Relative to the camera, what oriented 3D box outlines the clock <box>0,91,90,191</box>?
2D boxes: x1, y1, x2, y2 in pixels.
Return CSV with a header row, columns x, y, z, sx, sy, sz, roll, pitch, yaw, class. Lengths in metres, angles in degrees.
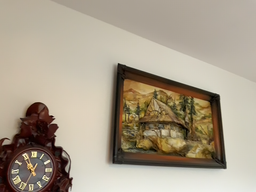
x,y,z,sx,sy,sz,roll,pitch,yaw,class
-0.390,0.300,0.870,0.410,0.580,0.070,13,-20,-30,clock
